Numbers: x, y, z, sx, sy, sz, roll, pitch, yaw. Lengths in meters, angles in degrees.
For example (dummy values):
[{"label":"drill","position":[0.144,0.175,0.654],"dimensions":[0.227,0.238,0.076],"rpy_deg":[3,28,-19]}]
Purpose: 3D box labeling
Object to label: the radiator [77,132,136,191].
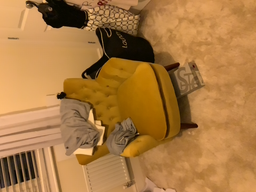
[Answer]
[{"label":"radiator","position":[-0.200,0.610,2.030],"dimensions":[0.120,0.480,0.420],"rpy_deg":[-26,75,51]}]
